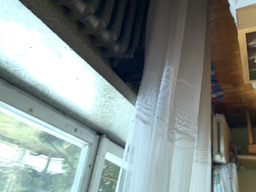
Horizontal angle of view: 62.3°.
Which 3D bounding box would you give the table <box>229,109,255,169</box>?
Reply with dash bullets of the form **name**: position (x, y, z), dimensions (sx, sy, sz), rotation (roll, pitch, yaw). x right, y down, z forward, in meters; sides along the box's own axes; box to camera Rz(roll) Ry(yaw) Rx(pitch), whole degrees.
- **table**: position (1.920, 0.540, 2.630), dimensions (1.120, 0.650, 0.470), rotation (-7, 148, 29)
